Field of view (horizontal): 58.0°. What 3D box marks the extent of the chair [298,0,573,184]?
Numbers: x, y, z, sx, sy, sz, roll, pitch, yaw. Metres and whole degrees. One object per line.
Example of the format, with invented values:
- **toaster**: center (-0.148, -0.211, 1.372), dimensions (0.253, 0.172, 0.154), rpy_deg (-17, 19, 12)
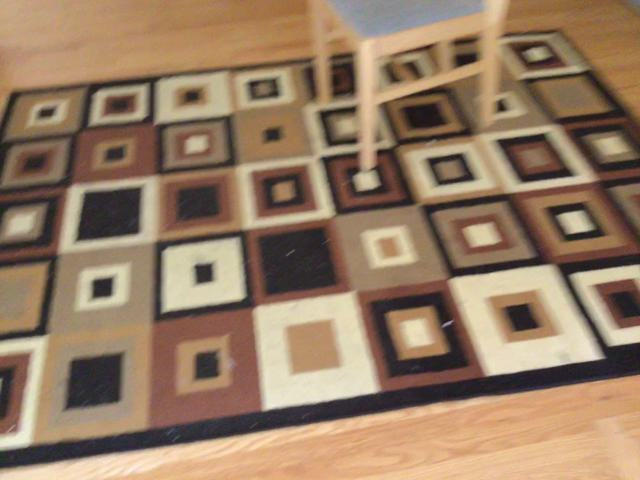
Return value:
- **chair**: center (0.300, -0.740, 1.640), dimensions (0.640, 0.950, 0.480), rpy_deg (-14, 48, -9)
